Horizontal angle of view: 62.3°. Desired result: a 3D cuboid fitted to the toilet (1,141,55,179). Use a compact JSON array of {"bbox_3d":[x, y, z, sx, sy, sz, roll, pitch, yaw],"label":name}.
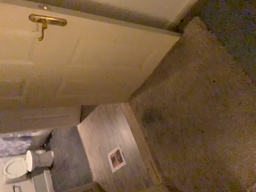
[{"bbox_3d":[-1.860,1.180,3.920,0.630,0.770,0.370,-42,59,45],"label":"toilet"}]
